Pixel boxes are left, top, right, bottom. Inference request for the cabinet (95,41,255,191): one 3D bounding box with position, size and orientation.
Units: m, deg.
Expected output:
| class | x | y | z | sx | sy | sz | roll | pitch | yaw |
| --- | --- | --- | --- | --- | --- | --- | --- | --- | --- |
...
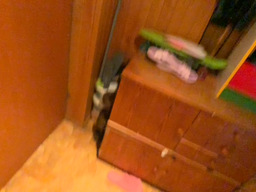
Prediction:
| class | x | y | z | sx | sy | sz | roll | pitch | yaw |
| --- | --- | --- | --- | --- | --- | --- | --- | --- | --- |
| cabinet | 0.330 | 0.250 | 1.530 | 0.910 | 0.870 | 0.450 | 25 | 42 | 7 |
